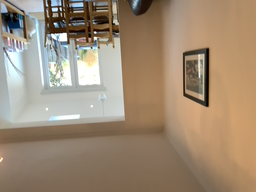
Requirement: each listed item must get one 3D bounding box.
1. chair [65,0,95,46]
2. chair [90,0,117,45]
[{"bbox_3d":[-0.990,-1.590,4.410,0.460,1.010,0.470,-3,-173,-1],"label":"chair"},{"bbox_3d":[-0.500,-1.620,4.420,0.460,1.010,0.470,-3,-173,-1],"label":"chair"}]
